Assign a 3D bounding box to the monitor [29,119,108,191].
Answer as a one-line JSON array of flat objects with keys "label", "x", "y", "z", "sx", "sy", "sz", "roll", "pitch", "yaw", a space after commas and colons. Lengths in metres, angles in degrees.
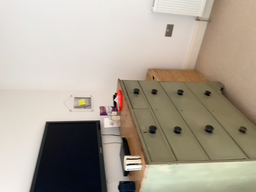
[{"label": "monitor", "x": -0.480, "y": 0.470, "z": 1.820, "sx": 0.860, "sy": 0.530, "sz": 0.020, "roll": -110, "pitch": 24, "yaw": -58}]
